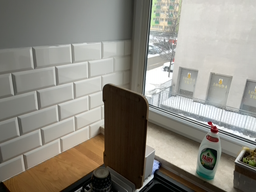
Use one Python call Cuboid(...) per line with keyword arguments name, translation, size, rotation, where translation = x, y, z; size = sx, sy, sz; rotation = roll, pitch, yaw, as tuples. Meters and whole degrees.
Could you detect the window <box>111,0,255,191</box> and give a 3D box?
Cuboid(name="window", translation=(0.410, -0.400, 1.010), size=(1.180, 1.720, 0.130), rotation=(19, 25, 36))
